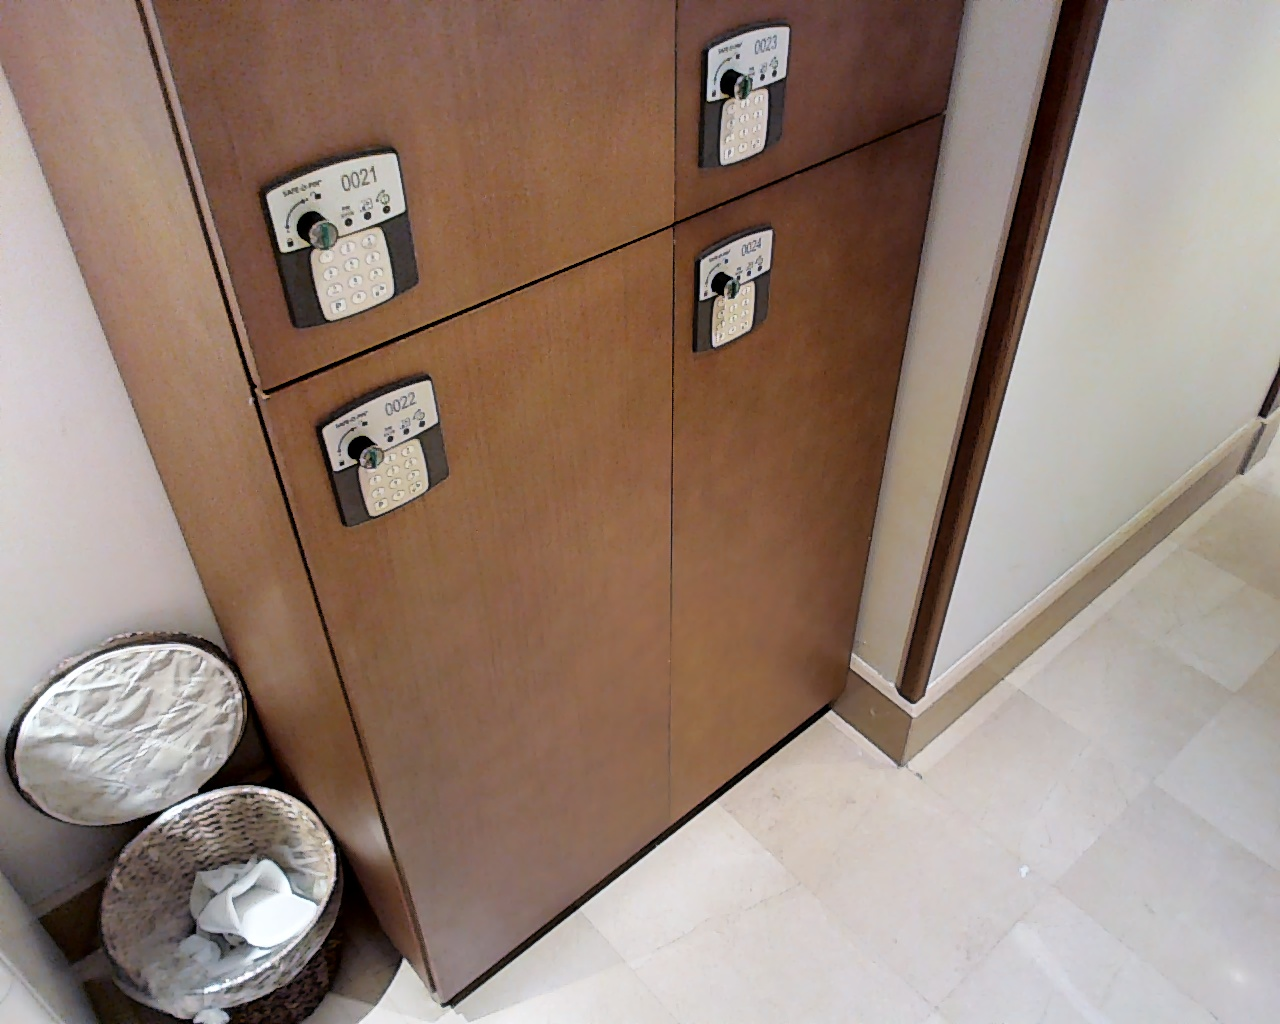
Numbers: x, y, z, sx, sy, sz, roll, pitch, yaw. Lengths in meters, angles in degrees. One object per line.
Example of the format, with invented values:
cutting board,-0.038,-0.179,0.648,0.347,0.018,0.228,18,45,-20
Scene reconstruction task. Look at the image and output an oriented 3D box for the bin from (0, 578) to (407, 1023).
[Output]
bin,-0.600,0.470,1.490,0.330,0.590,0.350,-30,50,-29
